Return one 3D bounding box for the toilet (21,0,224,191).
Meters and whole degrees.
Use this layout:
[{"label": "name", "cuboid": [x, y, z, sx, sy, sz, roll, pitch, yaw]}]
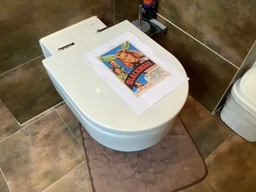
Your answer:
[{"label": "toilet", "cuboid": [-0.050, 0.000, 0.870, 0.390, 0.440, 0.580, -32, 60, -22]}]
